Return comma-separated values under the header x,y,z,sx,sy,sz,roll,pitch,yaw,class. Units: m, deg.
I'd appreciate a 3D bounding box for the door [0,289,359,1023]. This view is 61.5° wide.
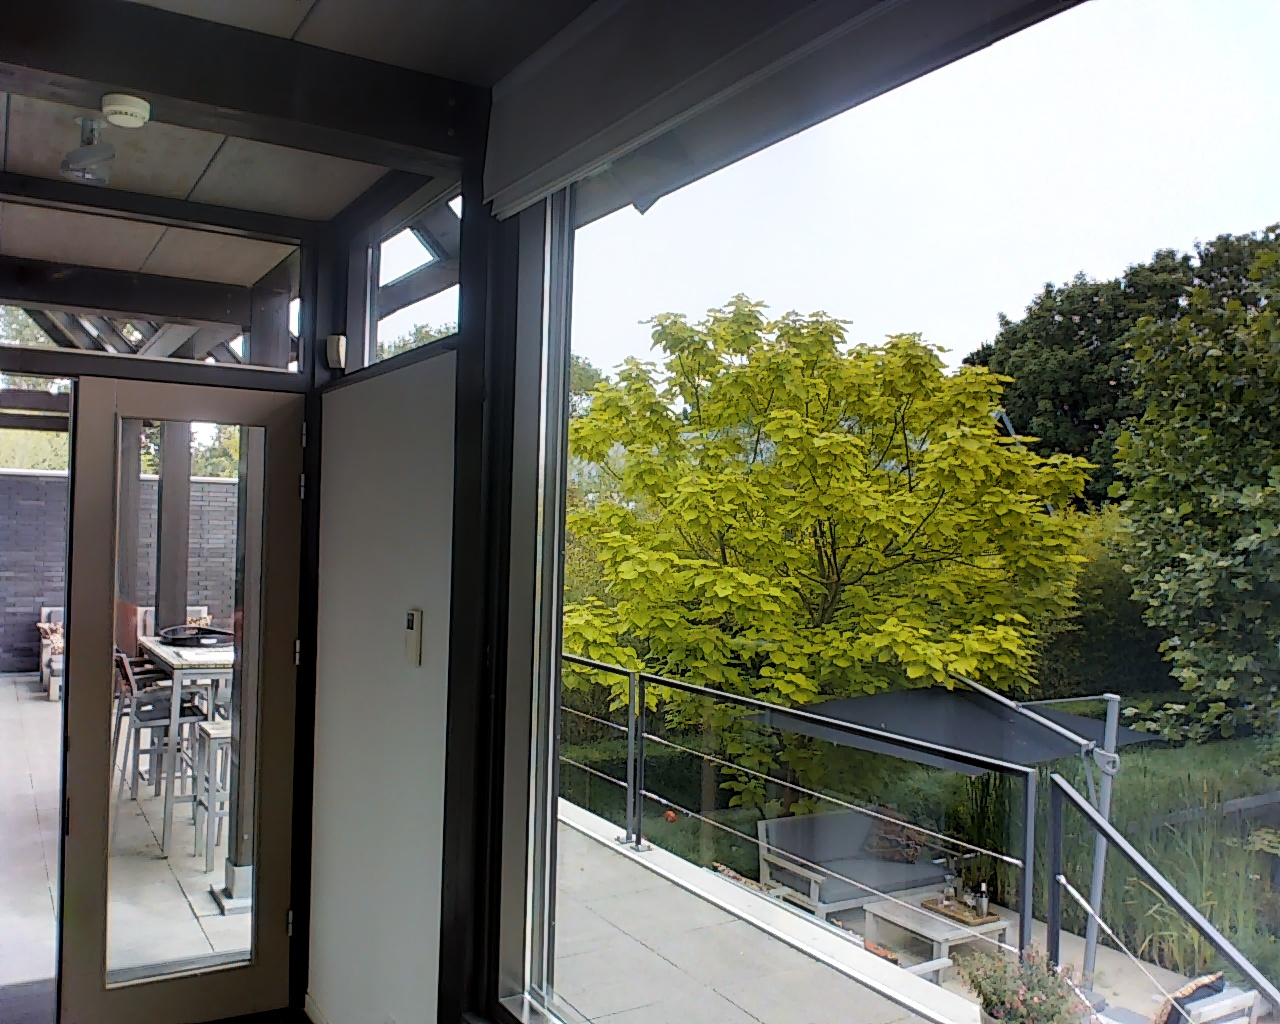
x,y,z,sx,sy,sz,roll,pitch,yaw,class
-2.070,0.620,3.680,0.970,2.530,1.840,1,-1,37,door
